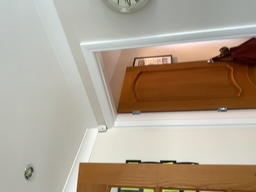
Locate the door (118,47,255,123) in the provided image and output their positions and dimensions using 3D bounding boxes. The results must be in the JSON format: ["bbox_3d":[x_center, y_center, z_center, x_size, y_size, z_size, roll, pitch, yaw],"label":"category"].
[{"bbox_3d":[0.930,-0.170,2.290,1.070,1.920,0.180,-78,-19,-52],"label":"door"}]
